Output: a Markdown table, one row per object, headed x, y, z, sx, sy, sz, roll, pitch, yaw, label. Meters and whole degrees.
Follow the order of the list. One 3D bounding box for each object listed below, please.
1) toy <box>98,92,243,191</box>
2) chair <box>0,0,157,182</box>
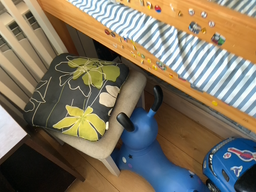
| x | y | z | sx | sy | sz | roll | pitch | yaw | label |
| --- | --- | --- | --- | --- | --- | --- | --- | --- | --- |
| 0.170 | 0.310 | 0.980 | 0.440 | 0.370 | 0.340 | 36 | 68 | 23 | toy |
| -0.220 | -0.040 | 0.920 | 0.530 | 0.930 | 0.430 | 23 | 64 | 18 | chair |
